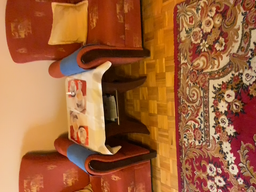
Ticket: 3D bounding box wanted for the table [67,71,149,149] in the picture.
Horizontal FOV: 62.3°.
[{"bbox_3d":[-0.220,0.090,2.090,0.690,0.510,0.610,2,96,56],"label":"table"}]
